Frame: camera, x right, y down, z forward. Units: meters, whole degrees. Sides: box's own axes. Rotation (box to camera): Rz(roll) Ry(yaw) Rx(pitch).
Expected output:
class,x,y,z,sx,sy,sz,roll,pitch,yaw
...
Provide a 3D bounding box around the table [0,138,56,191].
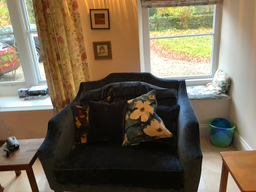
class,x,y,z,sx,sy,sz,roll,pitch,yaw
table,-1.000,0.690,2.010,0.420,0.400,0.400,-3,21,3

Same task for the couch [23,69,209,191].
class,x,y,z,sx,sy,sz,roll,pitch,yaw
couch,-0.010,0.330,2.060,1.250,0.900,1.090,-1,22,9
